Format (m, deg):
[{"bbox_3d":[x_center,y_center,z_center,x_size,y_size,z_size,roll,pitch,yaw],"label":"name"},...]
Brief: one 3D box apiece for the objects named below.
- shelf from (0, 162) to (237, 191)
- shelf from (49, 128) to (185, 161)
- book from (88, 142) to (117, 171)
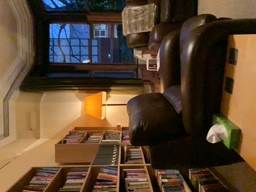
[{"bbox_3d":[-0.110,0.930,2.040,0.850,2.060,0.280,-112,23,-86],"label":"shelf"},{"bbox_3d":[-0.170,0.800,3.640,0.860,2.060,0.310,-112,23,-86],"label":"shelf"},{"bbox_3d":[-0.310,0.780,2.810,0.710,0.320,0.150,-116,26,-86],"label":"book"}]
